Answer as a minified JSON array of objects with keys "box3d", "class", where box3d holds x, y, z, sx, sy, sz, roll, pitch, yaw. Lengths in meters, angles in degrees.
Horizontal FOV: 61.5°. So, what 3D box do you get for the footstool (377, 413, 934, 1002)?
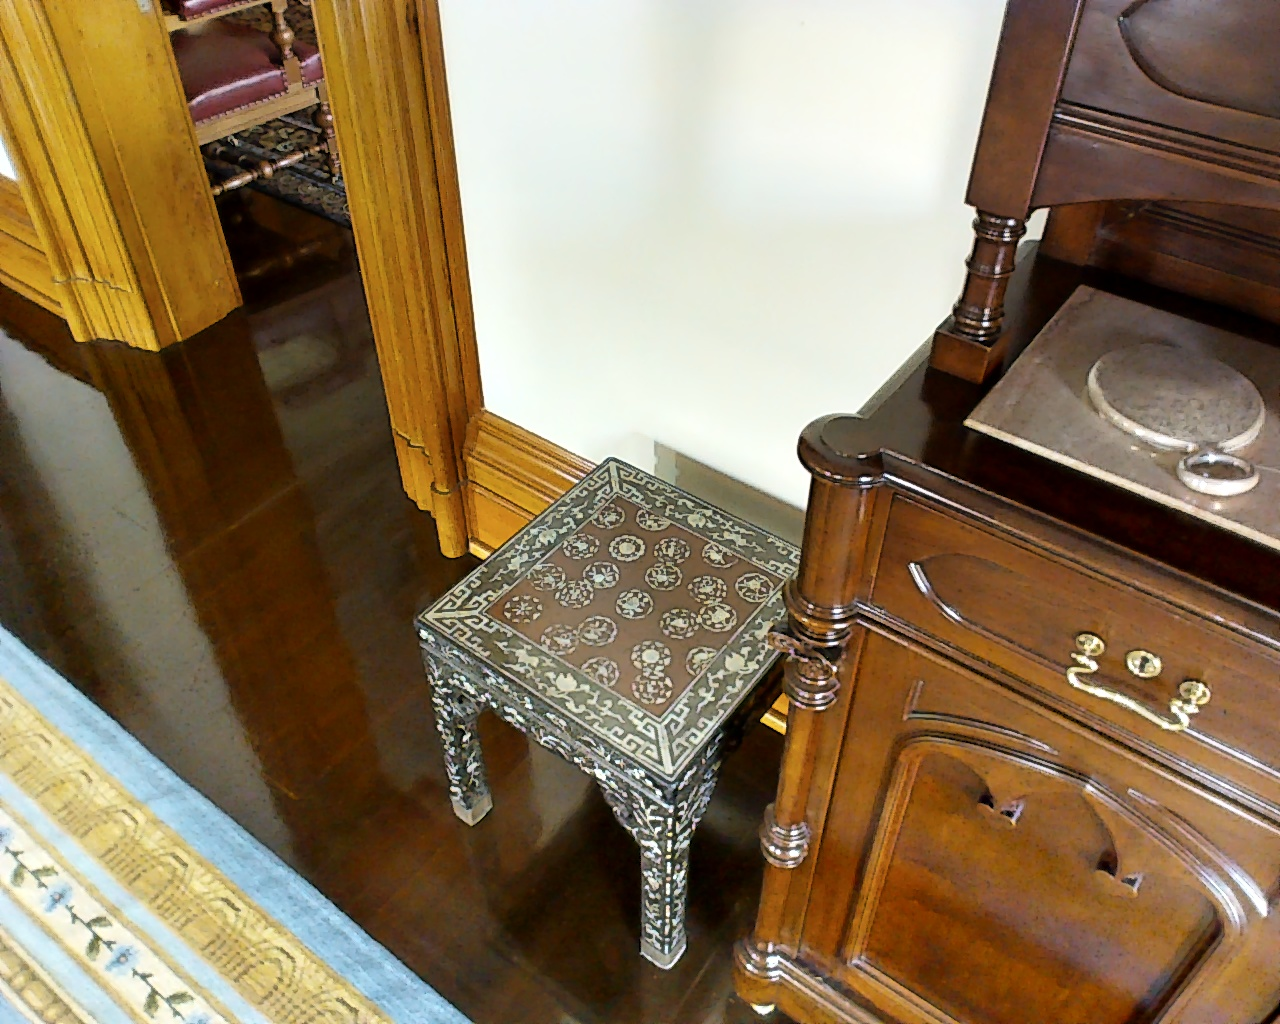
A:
[{"box3d":[0.030,0.270,1.680,0.580,0.470,0.540,27,49,27],"class":"footstool"}]
